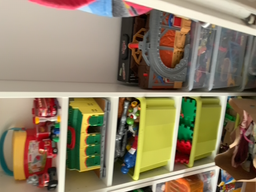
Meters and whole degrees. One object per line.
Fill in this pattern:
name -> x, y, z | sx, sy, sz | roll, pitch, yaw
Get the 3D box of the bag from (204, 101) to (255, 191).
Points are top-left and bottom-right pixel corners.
bag -> 0.750, 0.260, 1.150 | 0.310, 0.530, 0.410 | 21, 107, 58
